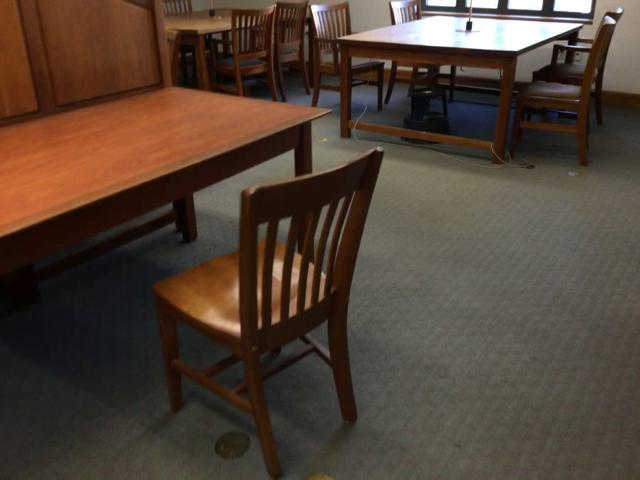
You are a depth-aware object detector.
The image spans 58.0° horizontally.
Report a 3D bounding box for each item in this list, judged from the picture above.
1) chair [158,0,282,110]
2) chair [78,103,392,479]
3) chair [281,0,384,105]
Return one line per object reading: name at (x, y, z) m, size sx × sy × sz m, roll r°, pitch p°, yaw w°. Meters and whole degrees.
chair at (-0.860, -1.750, 5.160) m, size 0.650 × 0.900 × 0.750 m, roll 15°, pitch 35°, yaw 29°
chair at (-0.180, 0.140, 1.670) m, size 0.590 × 0.870 × 0.520 m, roll 15°, pitch 35°, yaw 29°
chair at (0.130, -1.770, 5.120) m, size 0.620 × 0.910 × 0.650 m, roll 18°, pitch 36°, yaw 31°
